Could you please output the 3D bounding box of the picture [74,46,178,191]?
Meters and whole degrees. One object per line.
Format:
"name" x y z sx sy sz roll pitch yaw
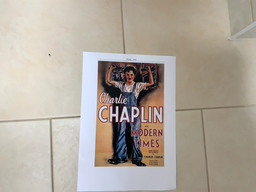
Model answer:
"picture" 0.000 0.050 0.460 0.210 0.020 0.300 3 85 -7
